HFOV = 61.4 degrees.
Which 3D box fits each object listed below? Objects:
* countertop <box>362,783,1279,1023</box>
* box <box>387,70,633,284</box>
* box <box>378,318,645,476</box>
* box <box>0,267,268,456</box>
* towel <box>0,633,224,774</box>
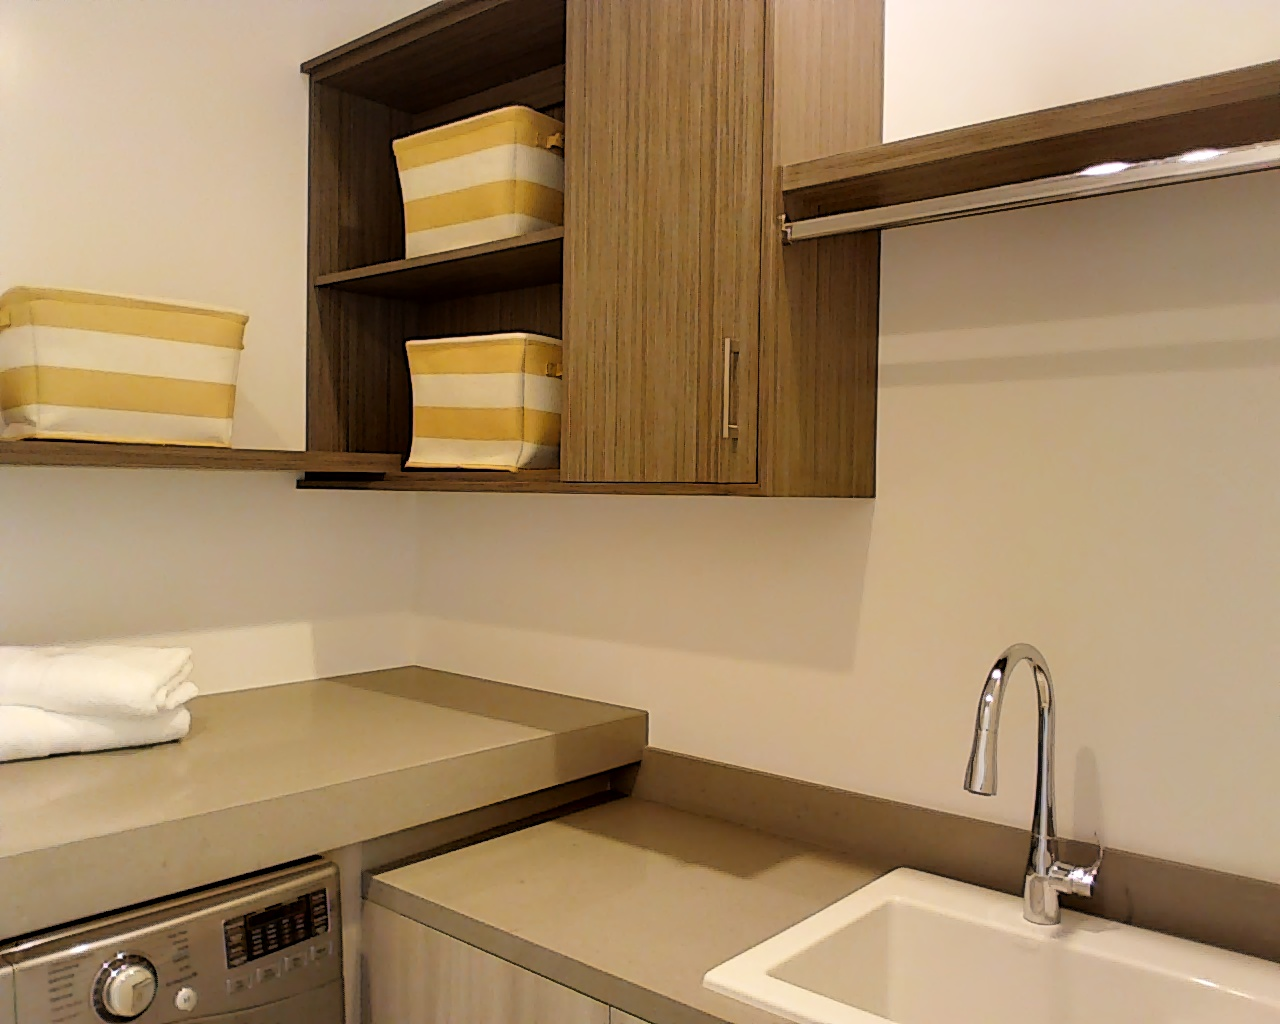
[{"bbox_3d":[0.270,0.600,1.550,1.350,0.030,0.650,2,2,41],"label":"countertop"},{"bbox_3d":[-0.270,-0.660,2.200,0.440,0.300,0.260,2,2,39],"label":"box"},{"bbox_3d":[-0.270,-0.220,2.230,0.460,0.280,0.310,2,2,39],"label":"box"},{"bbox_3d":[-0.940,-0.250,1.950,0.320,0.280,0.400,2,2,44],"label":"box"},{"bbox_3d":[-0.930,0.310,1.790,0.420,0.170,0.240,1,1,-28],"label":"towel"}]
